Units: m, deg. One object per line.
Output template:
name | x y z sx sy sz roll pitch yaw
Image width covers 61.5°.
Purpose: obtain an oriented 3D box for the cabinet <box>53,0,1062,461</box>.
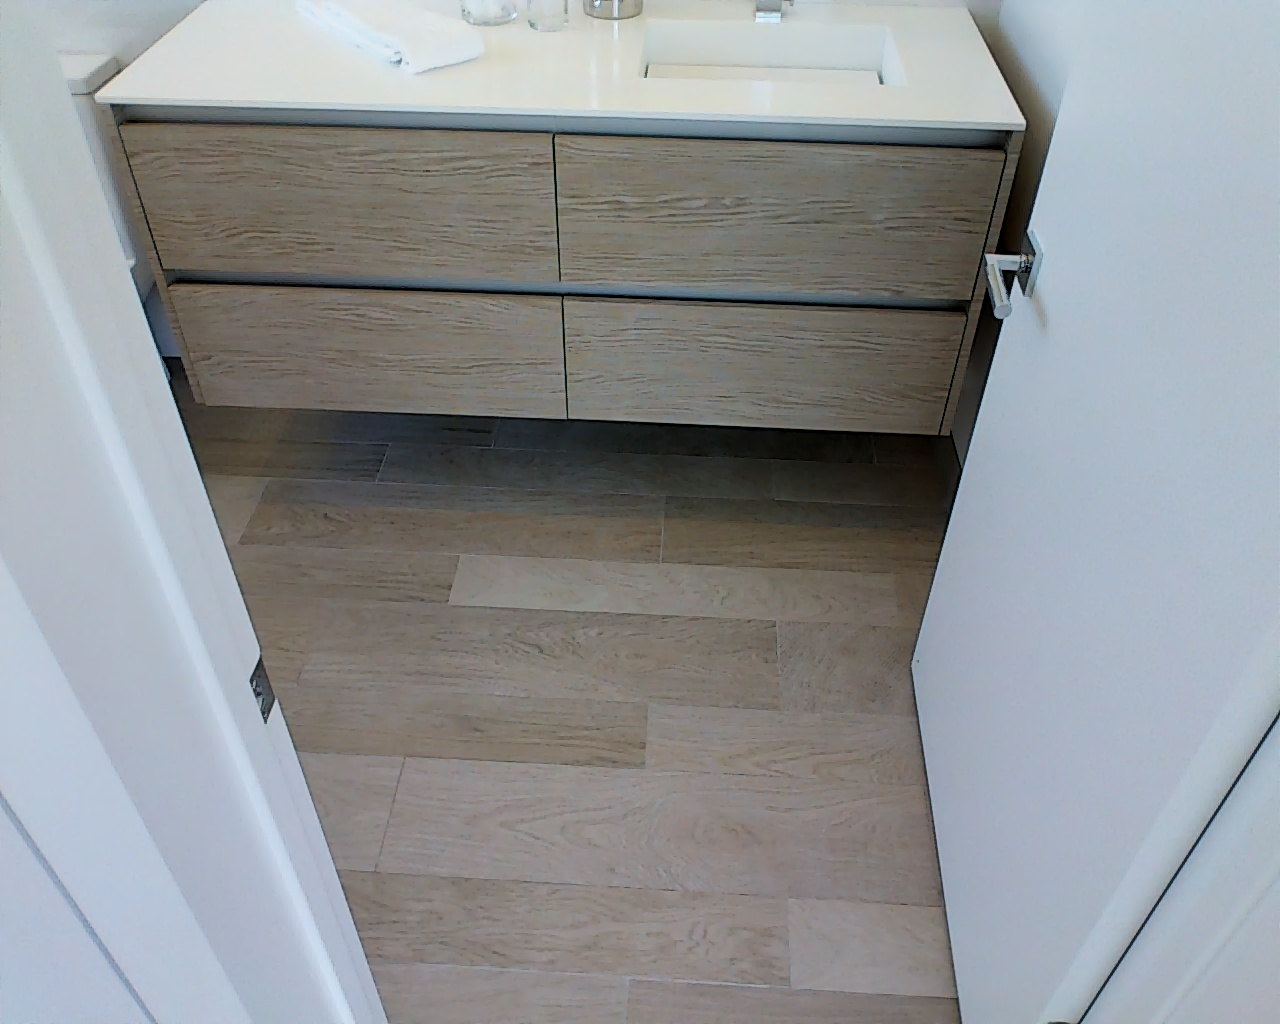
cabinet | -0.130 -0.600 2.160 1.610 0.710 0.590 3 42 3
